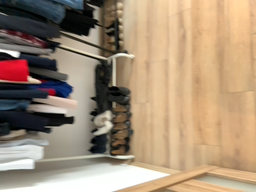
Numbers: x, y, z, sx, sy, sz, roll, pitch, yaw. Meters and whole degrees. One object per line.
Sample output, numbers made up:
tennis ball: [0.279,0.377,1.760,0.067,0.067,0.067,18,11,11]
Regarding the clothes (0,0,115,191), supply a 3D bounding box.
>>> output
clothes: [-0.800,0.010,1.620,0.700,1.200,1.210,-4,83,47]
